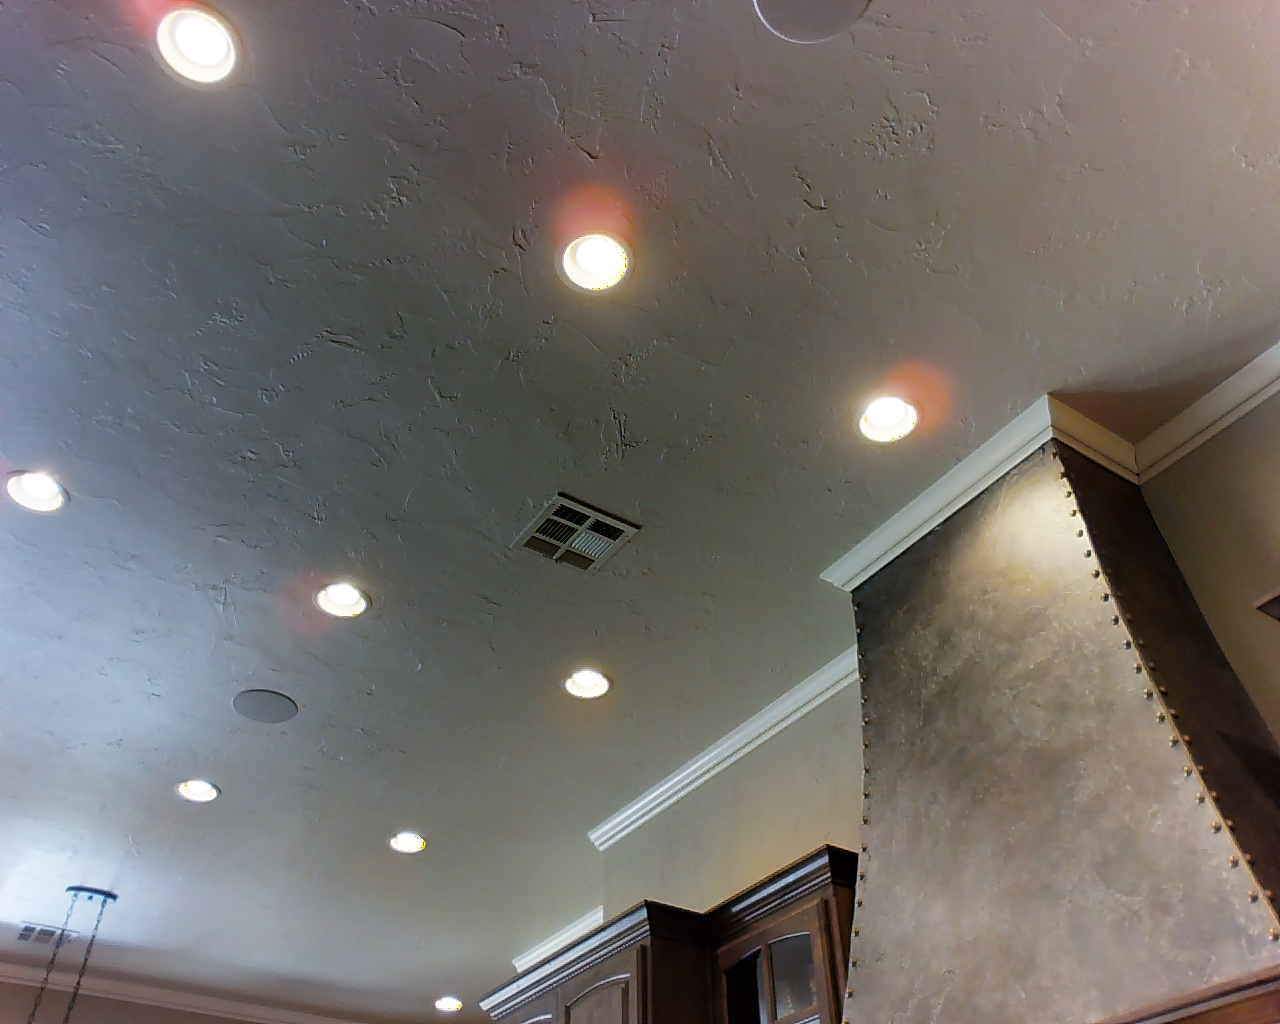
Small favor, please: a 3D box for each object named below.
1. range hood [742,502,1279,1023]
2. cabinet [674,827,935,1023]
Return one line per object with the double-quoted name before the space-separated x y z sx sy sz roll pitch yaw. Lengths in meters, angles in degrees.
"range hood" 0.790 0.910 2.370 0.190 1.310 1.460 23 -47 -24
"cabinet" 0.480 1.731 3.010 0.460 1.430 0.630 22 -47 -23
